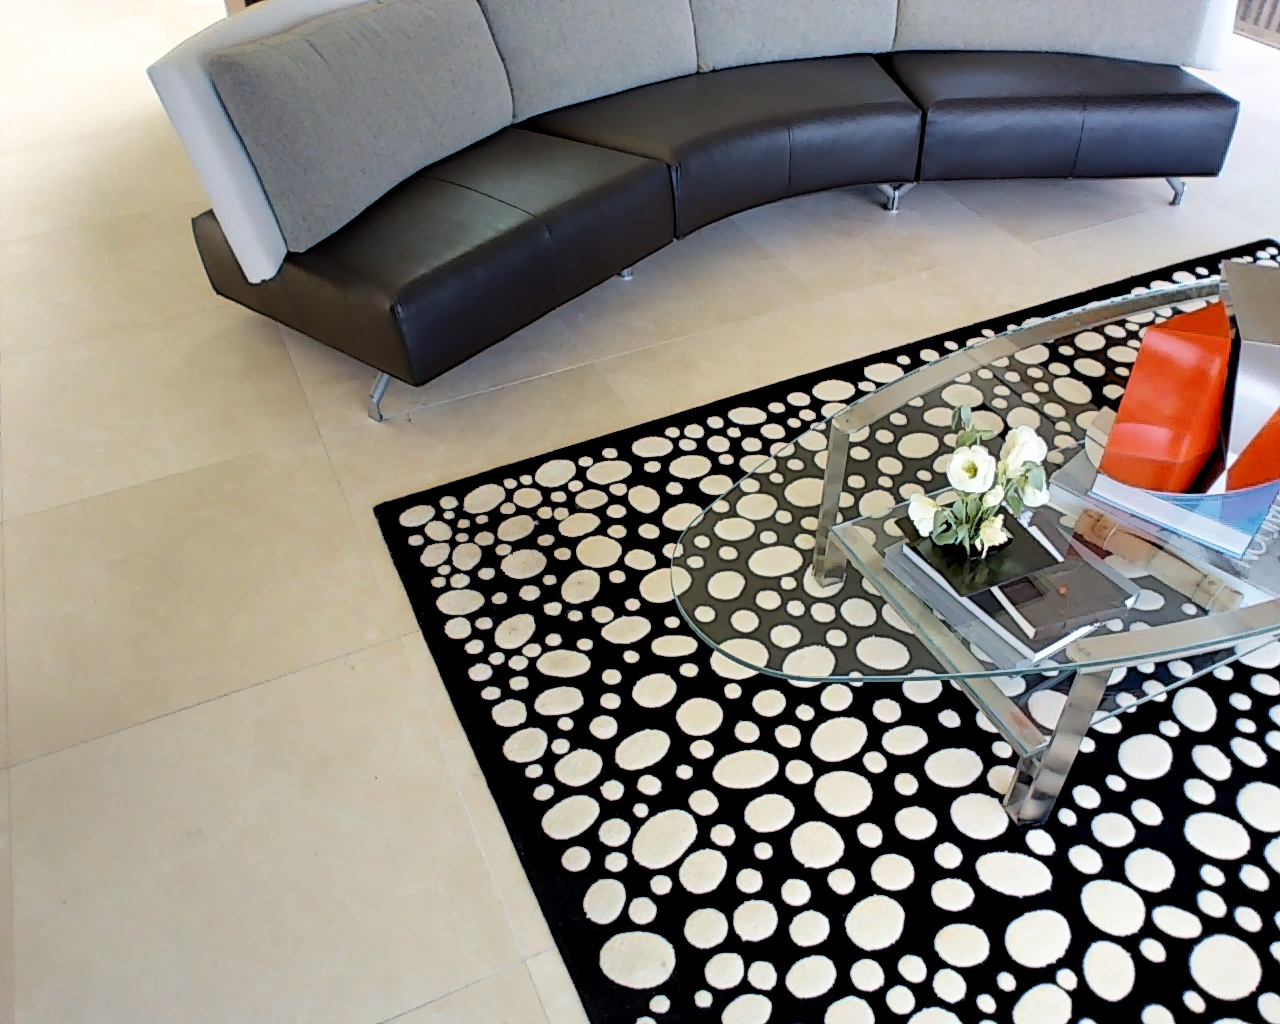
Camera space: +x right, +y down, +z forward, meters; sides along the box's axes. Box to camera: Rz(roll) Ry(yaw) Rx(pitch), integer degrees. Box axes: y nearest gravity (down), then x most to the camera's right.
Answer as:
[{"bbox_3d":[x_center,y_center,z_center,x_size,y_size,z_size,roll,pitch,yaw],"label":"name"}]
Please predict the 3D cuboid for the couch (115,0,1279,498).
[{"bbox_3d":[0.300,-1.180,3.050,3.100,0.770,1.400,-18,44,-18],"label":"couch"}]

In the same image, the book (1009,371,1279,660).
[{"bbox_3d":[1.040,-0.020,1.990,0.400,0.140,0.520,-31,49,-29],"label":"book"}]

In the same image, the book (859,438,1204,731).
[{"bbox_3d":[0.660,0.110,1.870,0.370,0.210,0.390,-18,44,-18],"label":"book"}]
